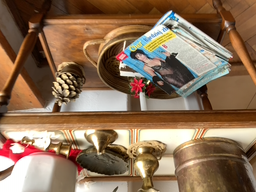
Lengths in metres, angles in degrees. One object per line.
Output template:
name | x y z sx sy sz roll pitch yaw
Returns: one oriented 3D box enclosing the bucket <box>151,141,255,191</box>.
bucket | 0.200 0.260 0.530 0.260 0.190 0.250 -2 141 2
